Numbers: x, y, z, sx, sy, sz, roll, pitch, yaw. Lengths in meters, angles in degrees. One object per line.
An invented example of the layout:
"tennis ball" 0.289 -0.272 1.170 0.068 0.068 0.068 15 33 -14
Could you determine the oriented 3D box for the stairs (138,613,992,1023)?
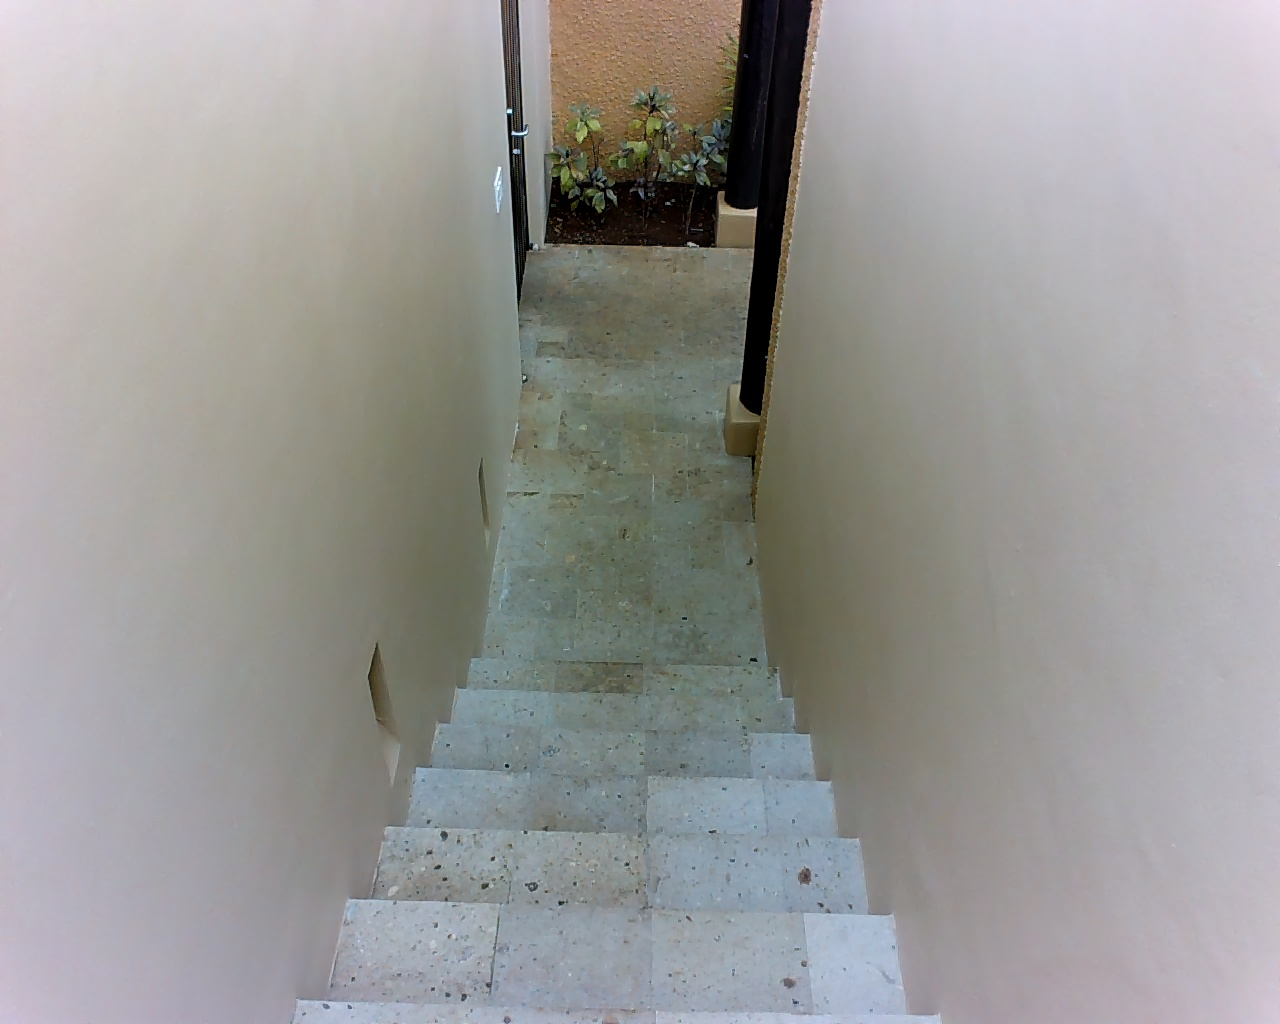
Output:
"stairs" -0.100 1.030 1.090 1.250 0.400 5.730 2 9 -1
